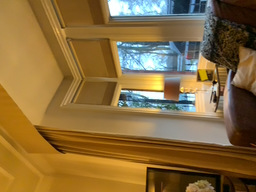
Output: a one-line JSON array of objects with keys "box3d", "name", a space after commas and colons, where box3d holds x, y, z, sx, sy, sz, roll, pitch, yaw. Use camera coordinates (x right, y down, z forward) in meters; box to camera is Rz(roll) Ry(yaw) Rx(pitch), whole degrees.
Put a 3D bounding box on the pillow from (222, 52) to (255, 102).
[{"box3d": [0.930, -0.150, 1.680, 0.280, 0.260, 0.120, 53, 165, -21], "name": "pillow"}]
